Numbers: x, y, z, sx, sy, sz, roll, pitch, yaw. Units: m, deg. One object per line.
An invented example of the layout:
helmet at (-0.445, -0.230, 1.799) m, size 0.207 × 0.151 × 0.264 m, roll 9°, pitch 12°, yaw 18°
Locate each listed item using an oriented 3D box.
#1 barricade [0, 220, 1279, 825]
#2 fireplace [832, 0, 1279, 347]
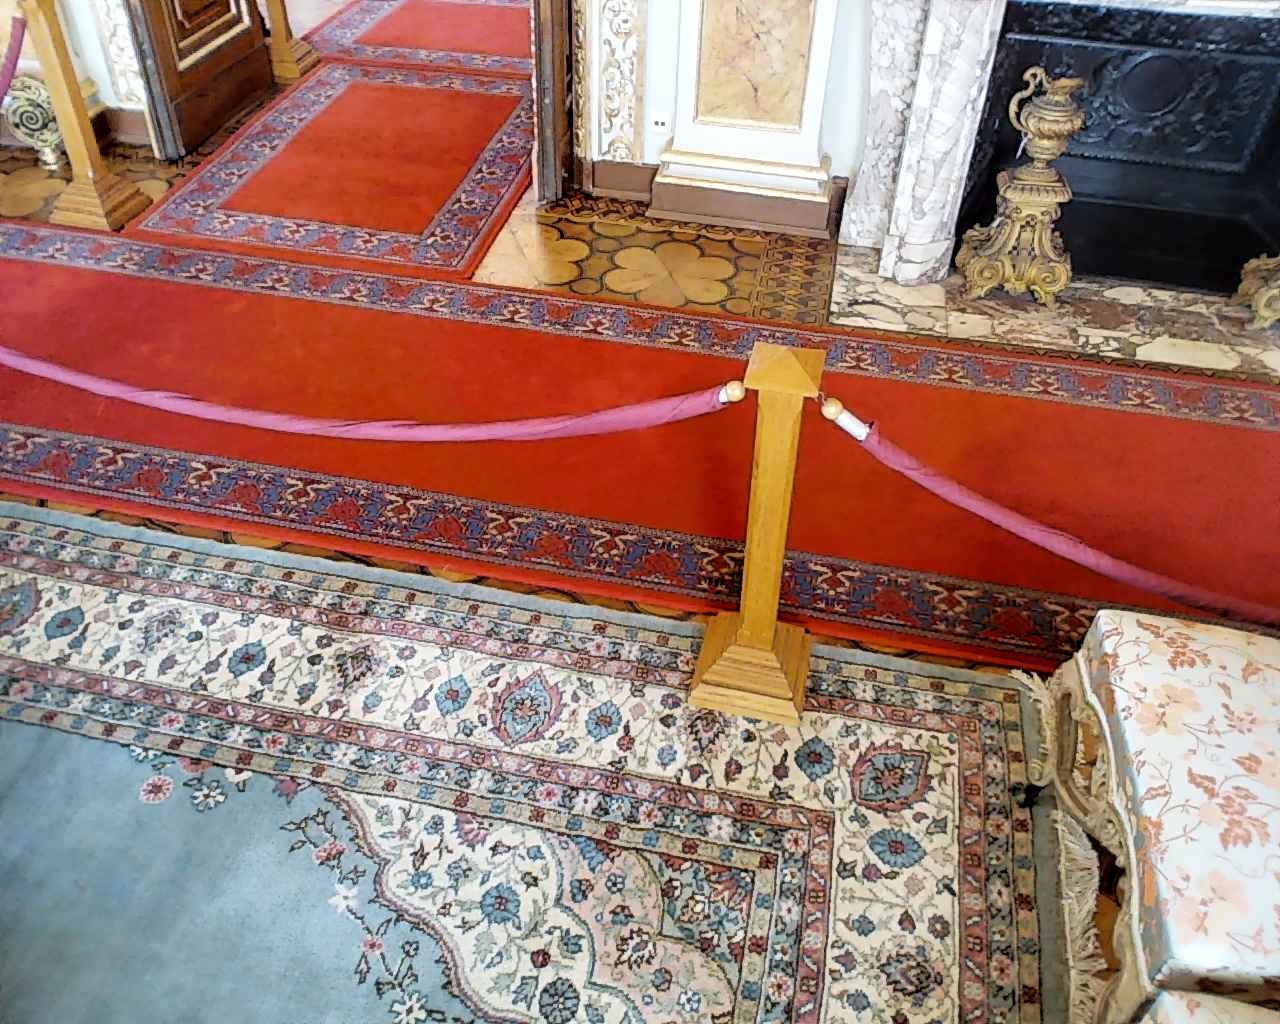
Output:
barricade at (0.610, 0.110, 1.910) m, size 4.309 × 0.810 × 0.240 m, roll 8°, pitch 42°, yaw 8°
fireplace at (1.750, -1.250, 3.020) m, size 2.179 × 1.430 × 0.550 m, roll 8°, pitch 42°, yaw 8°
